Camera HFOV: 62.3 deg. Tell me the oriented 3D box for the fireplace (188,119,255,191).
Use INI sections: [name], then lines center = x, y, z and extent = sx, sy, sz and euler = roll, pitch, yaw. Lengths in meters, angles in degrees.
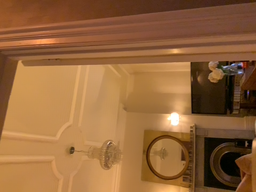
[fireplace]
center = 1.870, 1.310, 4.220
extent = 0.740, 1.220, 1.530
euler = 37, -123, -69
